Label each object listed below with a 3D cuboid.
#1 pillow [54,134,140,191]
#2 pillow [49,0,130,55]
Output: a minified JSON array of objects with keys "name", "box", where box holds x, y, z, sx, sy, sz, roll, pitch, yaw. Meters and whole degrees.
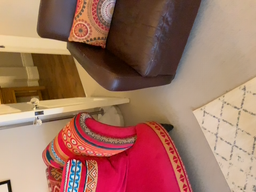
[{"name":"pillow","box":[-0.230,0.590,1.510,0.510,0.420,0.180,-64,26,9]},{"name":"pillow","box":[-0.230,-0.600,1.420,0.510,0.340,0.170,-51,16,18]}]
